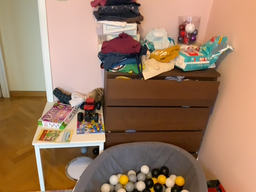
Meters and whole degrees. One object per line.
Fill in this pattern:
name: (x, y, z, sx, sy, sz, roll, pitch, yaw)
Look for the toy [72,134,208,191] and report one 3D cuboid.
toy: (0.060, 0.720, 1.400, 0.800, 0.440, 0.880, 4, 26, -5)
